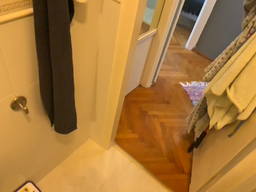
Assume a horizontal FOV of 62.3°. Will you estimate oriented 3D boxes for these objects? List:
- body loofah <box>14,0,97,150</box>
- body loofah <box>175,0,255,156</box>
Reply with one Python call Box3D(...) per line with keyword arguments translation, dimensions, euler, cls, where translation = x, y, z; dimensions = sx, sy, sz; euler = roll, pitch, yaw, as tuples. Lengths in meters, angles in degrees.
Box3D(translation=(-0.220, -0.190, 0.710), dimensions=(0.100, 1.070, 0.220), euler=(31, 48, 16), cls="body loofah")
Box3D(translation=(0.550, -0.230, 0.970), dimensions=(0.210, 1.040, 0.530), euler=(23, 47, 9), cls="body loofah")
